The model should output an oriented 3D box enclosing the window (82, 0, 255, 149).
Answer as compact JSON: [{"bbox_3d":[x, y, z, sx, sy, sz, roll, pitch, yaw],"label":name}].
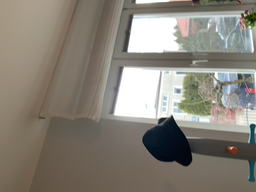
[{"bbox_3d":[0.560,-0.630,2.090,0.260,1.540,2.110,68,-151,-62],"label":"window"}]
